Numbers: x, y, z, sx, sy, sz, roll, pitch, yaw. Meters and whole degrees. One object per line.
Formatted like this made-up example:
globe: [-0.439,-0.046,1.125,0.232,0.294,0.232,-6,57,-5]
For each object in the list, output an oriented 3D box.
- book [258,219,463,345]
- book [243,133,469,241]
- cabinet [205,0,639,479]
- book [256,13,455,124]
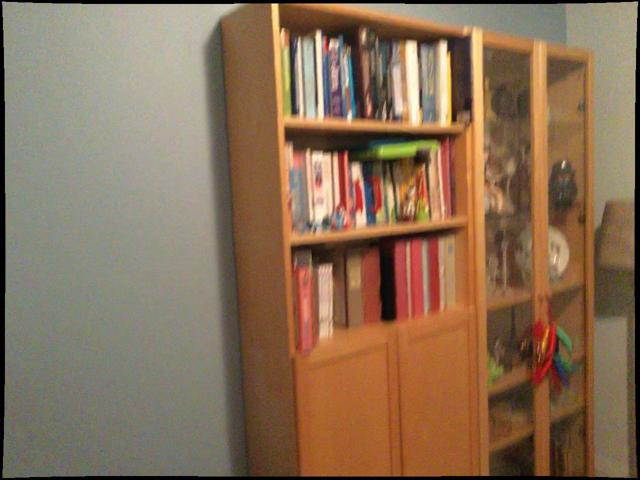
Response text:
book: [0.160,0.110,1.930,0.700,0.290,0.210,-8,9,-36]
book: [0.140,-0.190,1.890,0.720,0.290,0.270,-8,9,-36]
cabinet: [0.509,0.240,2.090,1.629,2.002,0.470,-8,9,-36]
book: [0.140,-0.521,1.840,0.690,0.280,0.140,-8,9,-36]
